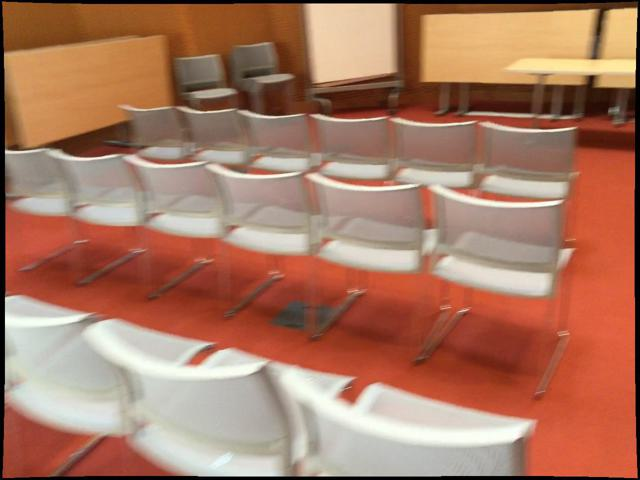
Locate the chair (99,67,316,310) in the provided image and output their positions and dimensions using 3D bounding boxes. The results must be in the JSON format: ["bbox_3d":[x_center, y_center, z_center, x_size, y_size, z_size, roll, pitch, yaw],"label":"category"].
[{"bbox_3d":[-0.490,-0.280,2.830,0.699,0.901,0.610,14,36,24],"label":"chair"}]

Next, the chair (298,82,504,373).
[{"bbox_3d":[0.330,-0.070,2.360,0.590,0.941,0.550,14,36,24],"label":"chair"}]

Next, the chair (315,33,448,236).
[{"bbox_3d":[0.370,-0.641,3.460,0.560,0.991,0.570,14,36,24],"label":"chair"}]

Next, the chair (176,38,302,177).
[{"bbox_3d":[-0.509,-0.901,3.860,0.520,0.701,0.570,16,37,27],"label":"chair"}]

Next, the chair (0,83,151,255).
[{"bbox_3d":[-1.299,-0.390,3.140,0.450,0.771,0.390,14,36,24],"label":"chair"}]

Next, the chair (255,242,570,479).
[{"bbox_3d":[0.230,0.490,1.390,0.500,0.721,0.520,14,36,24],"label":"chair"}]

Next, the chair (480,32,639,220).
[{"bbox_3d":[1.219,-0.601,2.920,0.600,0.711,0.570,14,36,24],"label":"chair"}]

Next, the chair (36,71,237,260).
[{"bbox_3d":[-0.899,-0.410,2.980,0.660,0.711,0.560,14,36,24],"label":"chair"}]

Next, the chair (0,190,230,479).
[{"bbox_3d":[-0.699,0.310,1.790,0.580,0.690,0.490,14,36,24],"label":"chair"}]

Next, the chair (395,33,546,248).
[{"bbox_3d":[0.819,-0.571,3.230,0.600,0.971,0.560,14,36,24],"label":"chair"}]

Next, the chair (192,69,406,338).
[{"bbox_3d":[-0.050,-0.190,2.580,0.650,0.911,0.620,14,36,24],"label":"chair"}]

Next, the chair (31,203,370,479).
[{"bbox_3d":[-0.260,0.410,1.630,0.630,0.761,0.540,14,36,24],"label":"chair"}]
